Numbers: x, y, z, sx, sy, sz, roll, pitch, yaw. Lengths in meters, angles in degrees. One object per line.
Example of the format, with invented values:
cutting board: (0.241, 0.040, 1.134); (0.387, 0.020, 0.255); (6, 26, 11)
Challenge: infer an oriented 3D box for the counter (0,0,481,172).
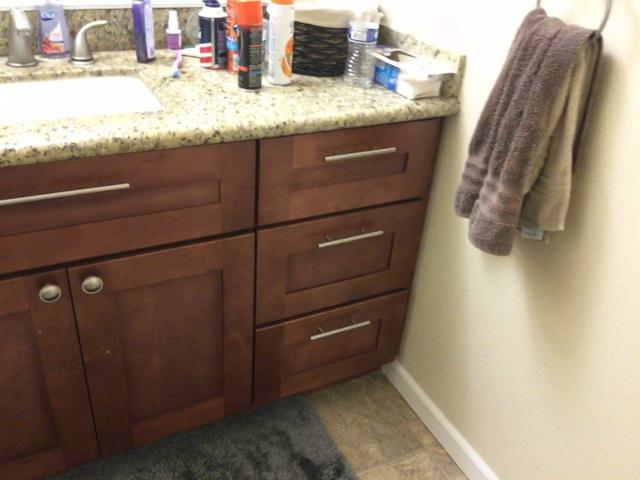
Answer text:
counter: (-0.550, -0.360, 1.130); (1.650, 0.230, 0.610); (-10, 32, -25)

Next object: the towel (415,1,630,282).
towel: (0.350, -0.190, 1.090); (0.150, 0.450, 0.260); (-10, 32, -25)
